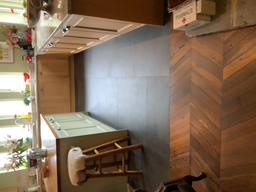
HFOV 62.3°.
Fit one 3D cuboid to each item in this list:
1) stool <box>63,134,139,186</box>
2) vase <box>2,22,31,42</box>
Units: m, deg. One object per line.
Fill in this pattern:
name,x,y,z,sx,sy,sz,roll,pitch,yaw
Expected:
stool,-0.310,0.710,2.480,0.350,0.800,0.350,11,102,62
vase,-2.630,-1.500,5.030,0.430,0.570,0.320,4,96,62
